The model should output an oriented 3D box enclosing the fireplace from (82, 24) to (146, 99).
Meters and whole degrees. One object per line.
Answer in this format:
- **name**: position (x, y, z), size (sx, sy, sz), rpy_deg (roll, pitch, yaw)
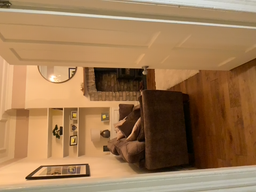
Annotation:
- **fireplace**: position (-0.380, -0.760, 5.150), size (0.700, 1.430, 1.620), rpy_deg (152, 118, -76)
